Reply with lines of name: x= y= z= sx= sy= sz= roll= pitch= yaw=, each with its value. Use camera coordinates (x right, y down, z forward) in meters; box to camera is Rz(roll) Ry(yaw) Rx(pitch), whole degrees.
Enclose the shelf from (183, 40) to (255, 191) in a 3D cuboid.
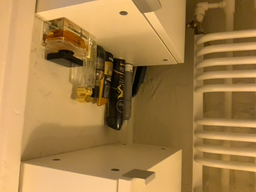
shelf: x=0.330 y=0.240 z=0.670 sx=0.290 sy=0.820 sz=0.090 roll=1 pitch=174 yaw=20
